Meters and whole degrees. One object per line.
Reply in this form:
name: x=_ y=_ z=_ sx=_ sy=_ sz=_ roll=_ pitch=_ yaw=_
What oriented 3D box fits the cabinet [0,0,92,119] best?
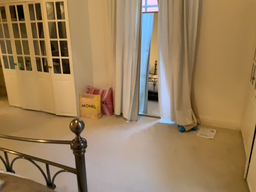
cabinet: x=-1.460 y=-0.850 z=3.490 sx=1.560 sy=2.190 sz=0.530 roll=7 pitch=19 yaw=22
